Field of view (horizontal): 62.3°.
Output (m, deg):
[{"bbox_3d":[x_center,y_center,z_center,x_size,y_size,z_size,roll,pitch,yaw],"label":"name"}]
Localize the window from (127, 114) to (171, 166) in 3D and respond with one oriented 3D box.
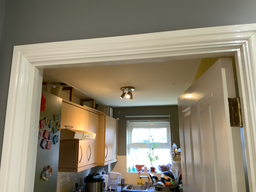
[{"bbox_3d":[0.400,0.870,4.240,0.850,1.000,0.090,-3,-12,11],"label":"window"}]
